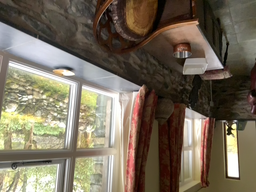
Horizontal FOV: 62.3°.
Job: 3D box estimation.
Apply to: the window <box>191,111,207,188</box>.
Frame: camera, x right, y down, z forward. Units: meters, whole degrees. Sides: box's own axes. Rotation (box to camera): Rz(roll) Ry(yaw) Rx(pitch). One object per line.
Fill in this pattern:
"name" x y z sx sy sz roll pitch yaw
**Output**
"window" 1.370 0.990 4.090 0.200 1.370 0.400 -4 167 31
